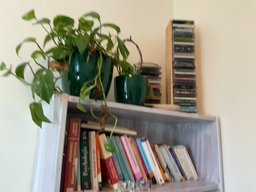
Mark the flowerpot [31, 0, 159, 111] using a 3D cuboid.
[{"bbox_3d":[-0.150,-0.120,0.920,0.430,0.290,0.360,9,-14,-29],"label":"flowerpot"}]
